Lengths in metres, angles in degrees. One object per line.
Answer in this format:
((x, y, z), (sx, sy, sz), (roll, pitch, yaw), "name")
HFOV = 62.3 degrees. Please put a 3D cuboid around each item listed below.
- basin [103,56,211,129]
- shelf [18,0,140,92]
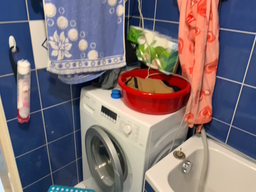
((0.150, -0.060, 1.230), (0.390, 0.190, 0.460), (-18, 32, -38), "basin")
((-0.220, -0.630, 1.070), (0.610, 1.100, 0.220), (-19, 33, -39), "shelf")
